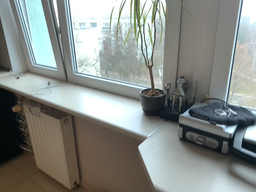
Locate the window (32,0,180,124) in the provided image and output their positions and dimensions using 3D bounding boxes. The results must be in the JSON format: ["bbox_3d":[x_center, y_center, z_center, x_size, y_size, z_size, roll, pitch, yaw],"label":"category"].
[{"bbox_3d":[-0.170,-0.660,1.070,0.850,1.460,0.210,14,27,32],"label":"window"}]
